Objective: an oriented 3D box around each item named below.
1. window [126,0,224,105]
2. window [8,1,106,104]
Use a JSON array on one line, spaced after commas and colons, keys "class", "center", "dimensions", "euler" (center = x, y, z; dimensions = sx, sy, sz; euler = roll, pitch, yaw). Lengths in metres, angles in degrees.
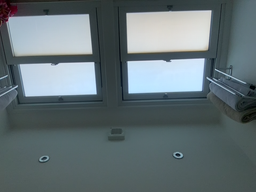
[{"class": "window", "center": [0.410, -0.400, 2.040], "dimensions": [0.840, 0.970, 0.160], "euler": [-1, -162, 0]}, {"class": "window", "center": [-0.640, -0.400, 2.060], "dimensions": [0.790, 0.940, 0.150], "euler": [-1, -162, 0]}]
